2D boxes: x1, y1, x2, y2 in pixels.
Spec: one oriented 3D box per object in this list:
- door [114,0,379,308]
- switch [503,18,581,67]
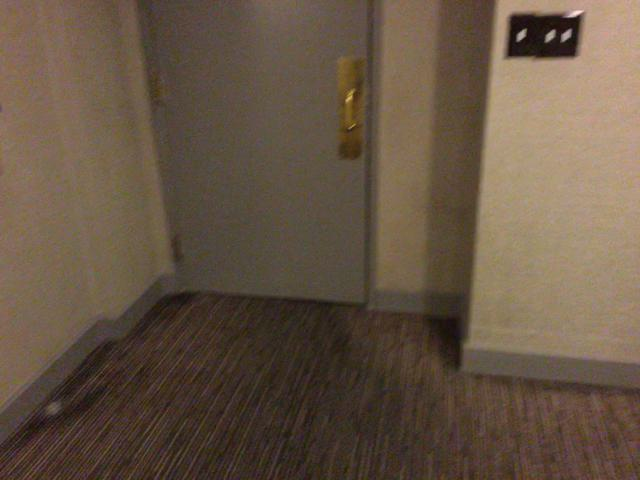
[{"bbox_3d":[-0.290,-0.650,2.400,1.050,1.930,0.140,2,20,12],"label":"door"},{"bbox_3d":[0.660,-0.590,1.730,0.200,0.130,0.060,2,20,12],"label":"switch"}]
